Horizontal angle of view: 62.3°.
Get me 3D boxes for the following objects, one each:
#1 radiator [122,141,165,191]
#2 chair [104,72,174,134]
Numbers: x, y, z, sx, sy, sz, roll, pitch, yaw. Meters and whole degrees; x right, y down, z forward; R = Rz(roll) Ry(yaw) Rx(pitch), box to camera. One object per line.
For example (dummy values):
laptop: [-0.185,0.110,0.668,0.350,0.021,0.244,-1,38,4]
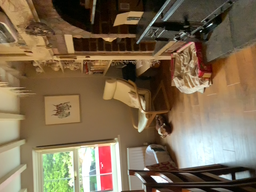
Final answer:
radiator: [0.290,1.450,4.010,0.230,0.710,1.120,147,120,-75]
chair: [0.130,0.100,3.670,0.540,0.980,0.880,104,159,-50]
